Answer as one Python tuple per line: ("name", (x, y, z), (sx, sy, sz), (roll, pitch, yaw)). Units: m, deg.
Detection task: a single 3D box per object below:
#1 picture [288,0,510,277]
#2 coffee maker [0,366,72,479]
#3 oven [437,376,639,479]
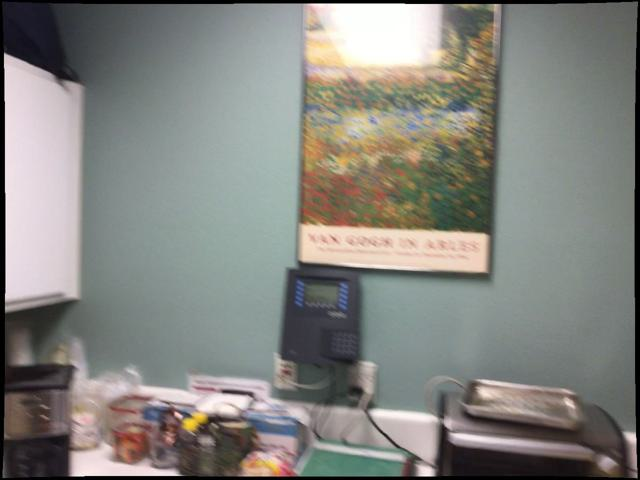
("picture", (0.240, -0.380, 1.840), (0.659, 0.961, 0.060), (2, 2, 12))
("coffee maker", (-0.719, 0.501, 1.450), (0.160, 0.330, 0.130), (1, 2, -17))
("oven", (0.559, 0.571, 1.560), (0.470, 0.270, 0.380), (2, 2, 12))
